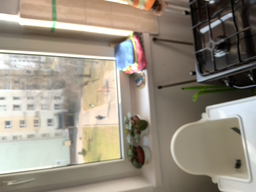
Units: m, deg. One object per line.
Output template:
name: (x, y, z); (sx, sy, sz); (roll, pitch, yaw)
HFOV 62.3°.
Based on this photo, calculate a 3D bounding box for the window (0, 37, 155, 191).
window: (-0.560, 0.090, 1.140); (0.140, 1.450, 0.780); (154, 113, -64)
